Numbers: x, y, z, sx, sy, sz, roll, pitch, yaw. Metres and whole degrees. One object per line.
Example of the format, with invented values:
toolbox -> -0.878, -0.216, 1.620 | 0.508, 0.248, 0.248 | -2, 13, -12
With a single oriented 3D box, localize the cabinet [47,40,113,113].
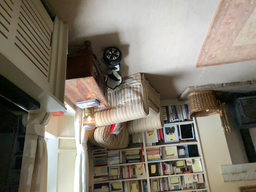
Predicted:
cabinet -> -0.510, -0.170, 2.540 | 0.480, 0.450, 0.920 | -7, 158, 4
